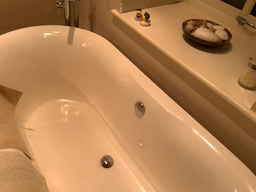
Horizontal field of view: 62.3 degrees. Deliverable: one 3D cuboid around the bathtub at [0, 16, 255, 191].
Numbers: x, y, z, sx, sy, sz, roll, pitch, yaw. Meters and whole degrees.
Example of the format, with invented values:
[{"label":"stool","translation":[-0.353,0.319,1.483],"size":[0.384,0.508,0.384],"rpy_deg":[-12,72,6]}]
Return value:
[{"label":"bathtub","translation":[-0.170,0.310,1.100],"size":[0.830,0.620,1.740],"rpy_deg":[-23,52,-29]}]
